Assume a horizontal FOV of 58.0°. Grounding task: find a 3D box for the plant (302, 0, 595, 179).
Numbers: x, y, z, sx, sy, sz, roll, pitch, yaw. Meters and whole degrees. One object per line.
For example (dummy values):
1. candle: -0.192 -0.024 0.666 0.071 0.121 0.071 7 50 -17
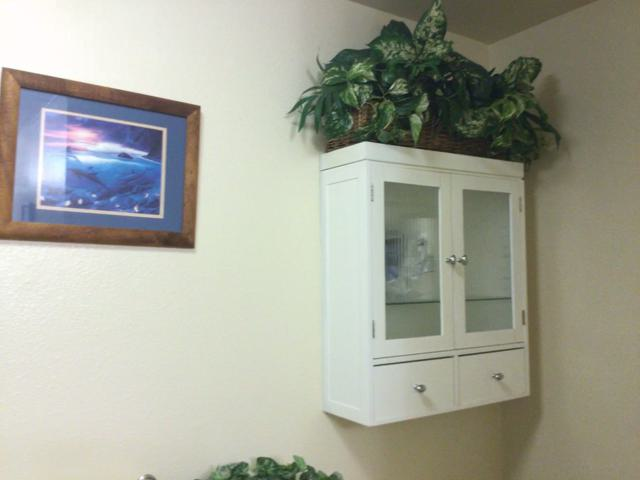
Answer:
1. plant: 0.360 -0.390 1.580 0.730 0.310 0.370 3 -7 -34
